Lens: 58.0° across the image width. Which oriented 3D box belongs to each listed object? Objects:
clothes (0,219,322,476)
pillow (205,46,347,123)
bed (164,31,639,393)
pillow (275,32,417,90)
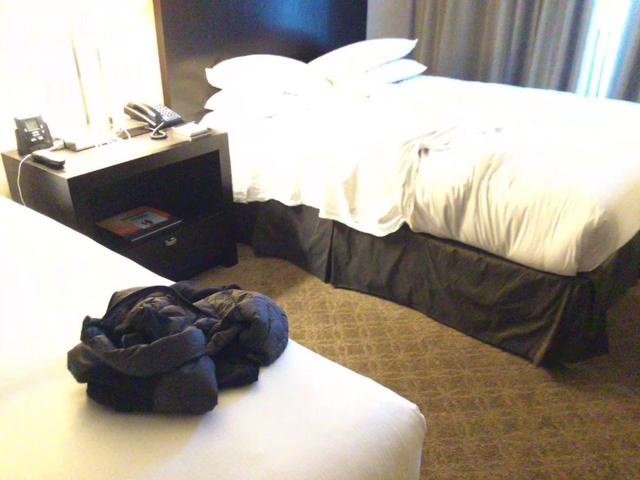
[{"bbox_3d":[-0.280,0.150,1.060,0.420,0.180,0.370,16,32,36],"label":"clothes"},{"bbox_3d":[-0.210,-0.820,2.980,0.410,0.260,0.600,16,32,36],"label":"pillow"},{"bbox_3d":[0.590,-0.440,2.890,2.130,0.950,1.550,16,32,36],"label":"bed"},{"bbox_3d":[0.160,-1.050,3.340,0.560,0.210,0.610,16,32,36],"label":"pillow"}]
